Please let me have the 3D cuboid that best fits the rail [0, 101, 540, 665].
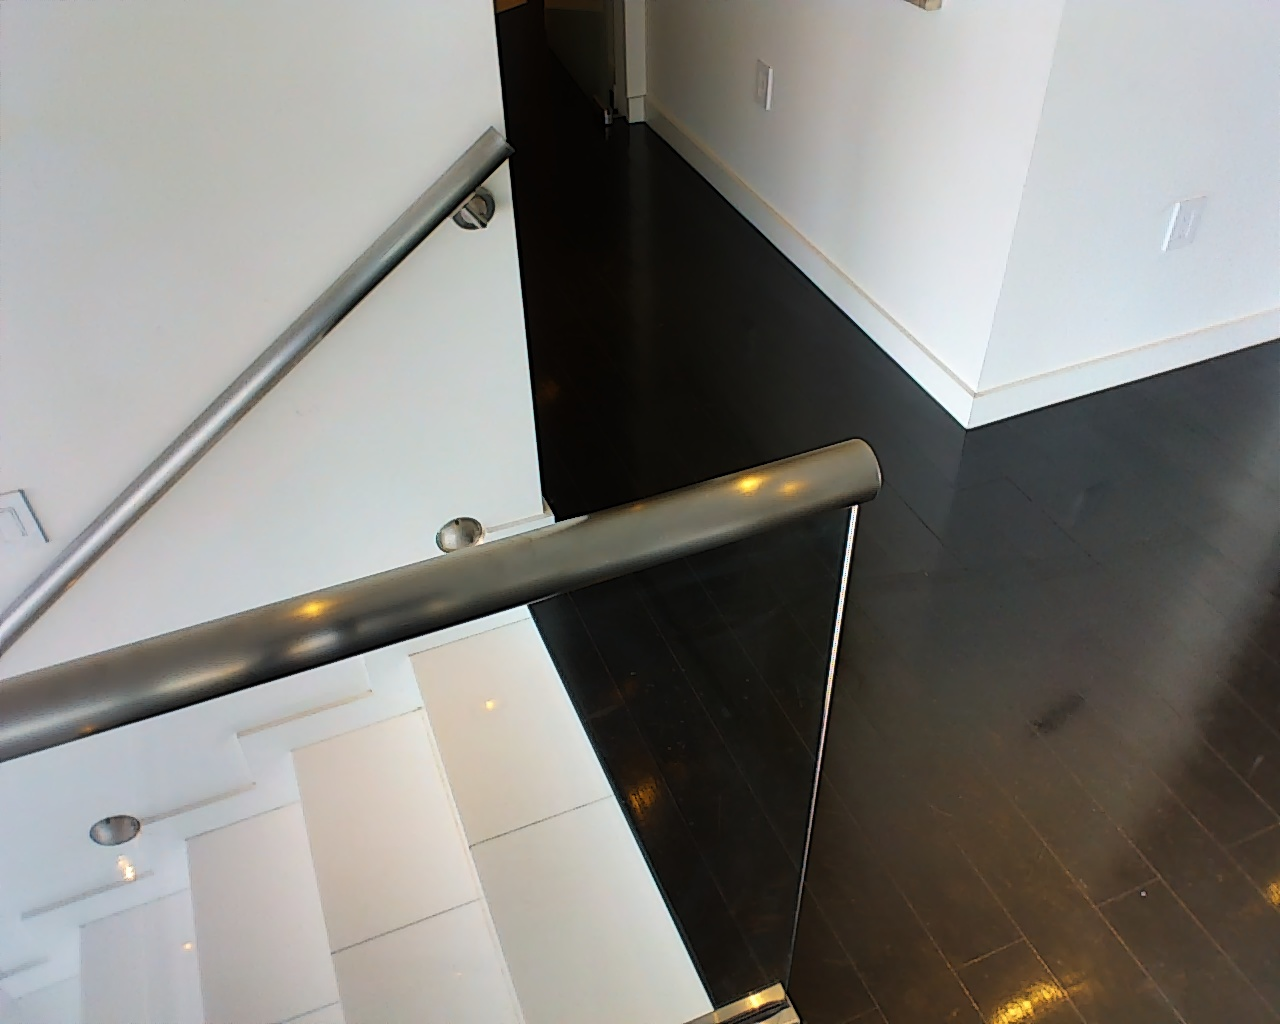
[{"bbox_3d":[-0.690,-0.200,1.840,0.980,0.800,0.150,-16,43,-16],"label":"rail"}]
